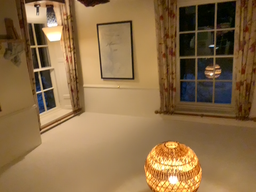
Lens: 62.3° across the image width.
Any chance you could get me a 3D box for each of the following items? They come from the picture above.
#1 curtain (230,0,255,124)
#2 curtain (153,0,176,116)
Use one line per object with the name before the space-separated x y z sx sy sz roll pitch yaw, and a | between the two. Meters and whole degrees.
curtain | 1.690 -0.950 3.050 0.240 2.810 0.160 2 -164 23
curtain | 0.650 -0.740 3.700 0.310 2.250 0.160 2 -164 23
